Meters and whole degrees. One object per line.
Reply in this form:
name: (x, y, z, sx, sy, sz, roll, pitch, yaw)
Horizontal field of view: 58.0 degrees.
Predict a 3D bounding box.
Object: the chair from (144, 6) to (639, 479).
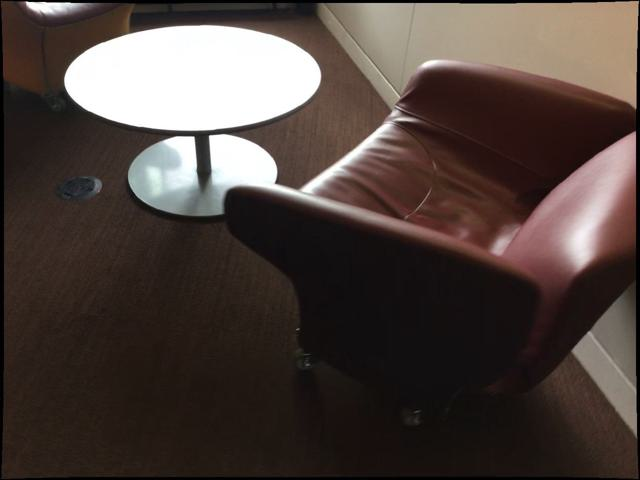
chair: (0.299, 0.020, 1.480, 0.899, 0.771, 0.990, 26, 45, 25)
